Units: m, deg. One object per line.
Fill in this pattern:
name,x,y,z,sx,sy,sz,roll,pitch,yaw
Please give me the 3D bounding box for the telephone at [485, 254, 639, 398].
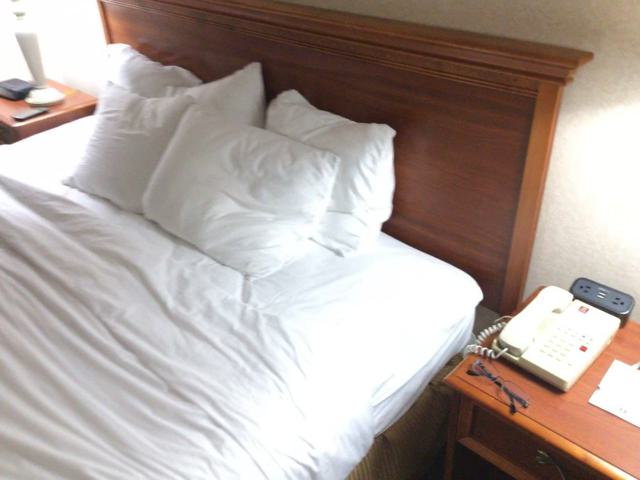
telephone,0.500,0.160,1.180,0.170,0.090,0.320,25,39,36
